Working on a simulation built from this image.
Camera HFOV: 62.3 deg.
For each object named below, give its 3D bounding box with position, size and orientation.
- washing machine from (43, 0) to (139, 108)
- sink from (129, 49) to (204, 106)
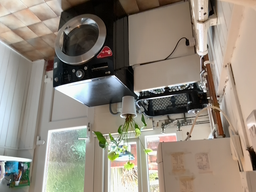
[{"bbox_3d":[-0.300,-0.430,2.130,0.590,0.850,0.770,-8,158,17],"label":"washing machine"},{"bbox_3d":[0.370,-0.140,1.970,0.600,0.270,0.440,-8,158,17],"label":"sink"}]
